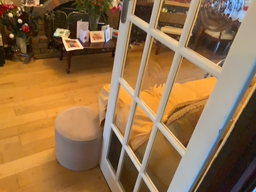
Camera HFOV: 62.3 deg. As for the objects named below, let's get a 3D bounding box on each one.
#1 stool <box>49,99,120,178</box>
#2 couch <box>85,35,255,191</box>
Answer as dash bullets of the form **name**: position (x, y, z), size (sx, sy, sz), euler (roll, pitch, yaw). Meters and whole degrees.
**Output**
- **stool**: position (-0.370, 0.320, 1.720), size (0.430, 0.350, 0.420), euler (-9, 38, -28)
- **couch**: position (0.740, 0.080, 1.910), size (1.970, 0.890, 0.930), euler (-12, 40, -31)
